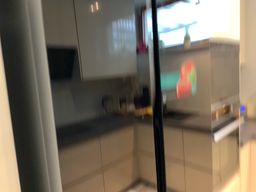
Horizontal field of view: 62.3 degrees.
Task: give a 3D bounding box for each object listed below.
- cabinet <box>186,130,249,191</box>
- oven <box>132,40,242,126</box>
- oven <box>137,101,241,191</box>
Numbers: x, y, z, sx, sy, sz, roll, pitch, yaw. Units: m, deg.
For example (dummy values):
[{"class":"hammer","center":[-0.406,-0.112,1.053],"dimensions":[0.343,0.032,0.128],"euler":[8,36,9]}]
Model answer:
[{"class":"cabinet","center":[0.820,0.790,1.970],"dimensions":[0.220,0.840,0.470],"euler":[-11,11,-44]},{"class":"oven","center":[0.440,-0.120,1.510],"dimensions":[0.640,0.460,0.480],"euler":[-11,11,-44]},{"class":"oven","center":[0.470,0.340,1.570],"dimensions":[0.640,0.470,0.480],"euler":[-11,11,-44]}]
